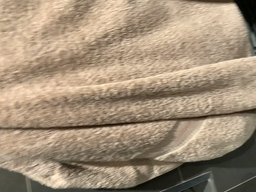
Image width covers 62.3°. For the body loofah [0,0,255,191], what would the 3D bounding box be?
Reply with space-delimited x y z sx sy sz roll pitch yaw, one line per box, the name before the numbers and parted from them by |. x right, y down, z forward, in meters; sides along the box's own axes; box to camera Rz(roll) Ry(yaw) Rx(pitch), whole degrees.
body loofah | 0.100 -0.040 0.410 0.150 0.810 0.330 -37 64 57
